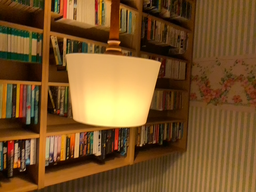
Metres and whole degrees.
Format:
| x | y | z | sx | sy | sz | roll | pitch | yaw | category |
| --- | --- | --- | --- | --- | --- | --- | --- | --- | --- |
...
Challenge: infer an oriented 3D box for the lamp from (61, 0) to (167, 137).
| x | y | z | sx | sy | sz | roll | pitch | yaw | category |
| --- | --- | --- | --- | --- | --- | --- | --- | --- | --- |
| -0.040 | -0.260 | 1.050 | 0.390 | 0.800 | 0.440 | 4 | -177 | 3 | lamp |
